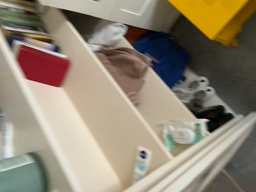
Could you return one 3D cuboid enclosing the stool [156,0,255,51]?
[{"bbox_3d":[0.470,-0.510,1.050,0.370,0.420,0.390,52,124,22],"label":"stool"}]
